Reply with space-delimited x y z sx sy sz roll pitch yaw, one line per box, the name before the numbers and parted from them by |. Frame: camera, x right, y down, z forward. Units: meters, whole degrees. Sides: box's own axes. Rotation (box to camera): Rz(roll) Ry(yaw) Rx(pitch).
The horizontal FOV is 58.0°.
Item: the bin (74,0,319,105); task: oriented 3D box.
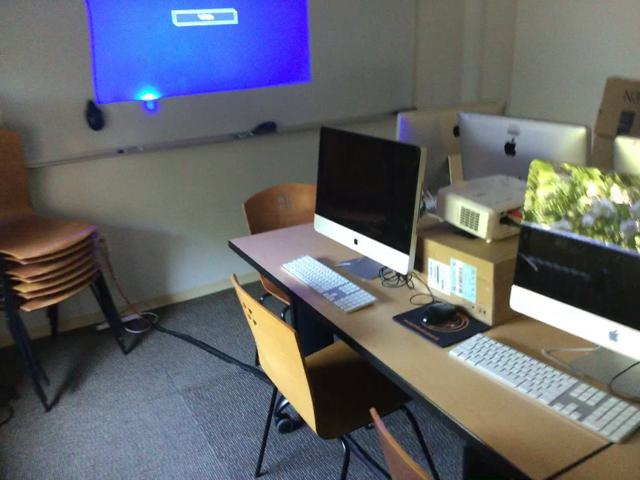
bin | -0.580 -1.130 2.930 1.200 0.730 0.150 -14 24 -26
